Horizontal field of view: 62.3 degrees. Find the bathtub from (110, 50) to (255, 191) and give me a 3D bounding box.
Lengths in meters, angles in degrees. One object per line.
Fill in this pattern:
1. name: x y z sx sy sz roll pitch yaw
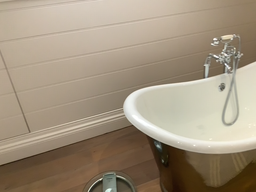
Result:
1. bathtub: 0.770 0.190 1.440 1.570 0.690 0.770 -13 29 -14
